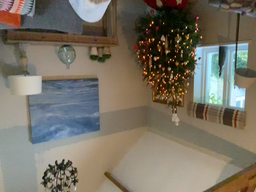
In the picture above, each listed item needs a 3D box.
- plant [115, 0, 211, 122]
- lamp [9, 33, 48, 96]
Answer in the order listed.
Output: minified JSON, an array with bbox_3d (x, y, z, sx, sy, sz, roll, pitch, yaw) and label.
[{"bbox_3d":[0.510,-0.720,3.430,0.890,1.930,1.200,-8,-168,-37],"label":"plant"},{"bbox_3d":[-1.400,-0.440,2.970,0.350,0.780,0.510,-8,-168,-34],"label":"lamp"}]
